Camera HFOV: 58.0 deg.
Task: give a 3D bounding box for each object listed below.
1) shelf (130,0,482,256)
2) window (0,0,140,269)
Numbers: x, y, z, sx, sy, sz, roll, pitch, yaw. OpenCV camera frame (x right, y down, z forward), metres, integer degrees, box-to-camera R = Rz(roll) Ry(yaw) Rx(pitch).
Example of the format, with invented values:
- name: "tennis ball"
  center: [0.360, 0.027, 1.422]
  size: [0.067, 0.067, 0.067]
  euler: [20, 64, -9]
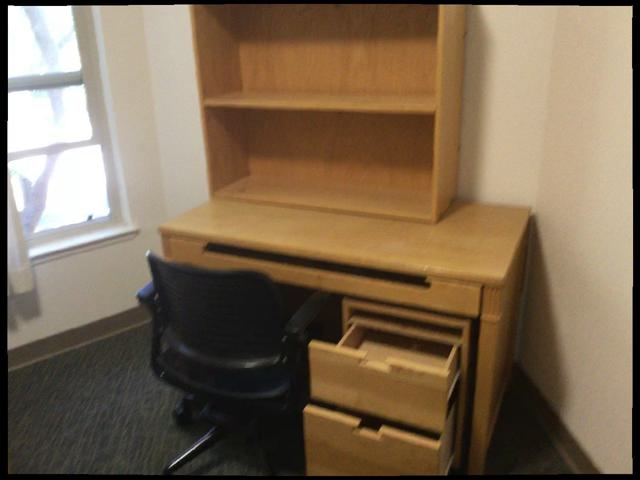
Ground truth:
- name: "shelf"
  center: [0.010, -0.511, 2.130]
  size: [0.969, 0.781, 0.800]
  euler: [7, 23, 24]
- name: "window"
  center: [-1.168, -0.601, 2.430]
  size: [0.549, 1.352, 0.390]
  euler: [-5, 21, -8]
